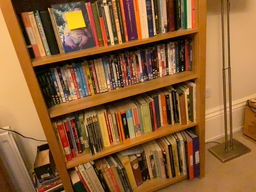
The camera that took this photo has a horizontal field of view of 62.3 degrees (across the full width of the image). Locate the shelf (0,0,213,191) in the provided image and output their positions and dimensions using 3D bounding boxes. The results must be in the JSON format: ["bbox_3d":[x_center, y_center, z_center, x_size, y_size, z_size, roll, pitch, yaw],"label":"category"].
[{"bbox_3d":[-0.080,-0.270,1.120,0.960,1.990,0.380,-16,25,-15],"label":"shelf"}]
